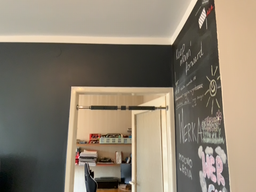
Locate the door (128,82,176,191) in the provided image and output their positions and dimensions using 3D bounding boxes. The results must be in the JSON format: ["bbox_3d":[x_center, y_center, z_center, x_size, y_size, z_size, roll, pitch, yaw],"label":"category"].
[{"bbox_3d":[0.200,1.060,2.190,0.110,2.220,0.980,4,-12,-17],"label":"door"}]
